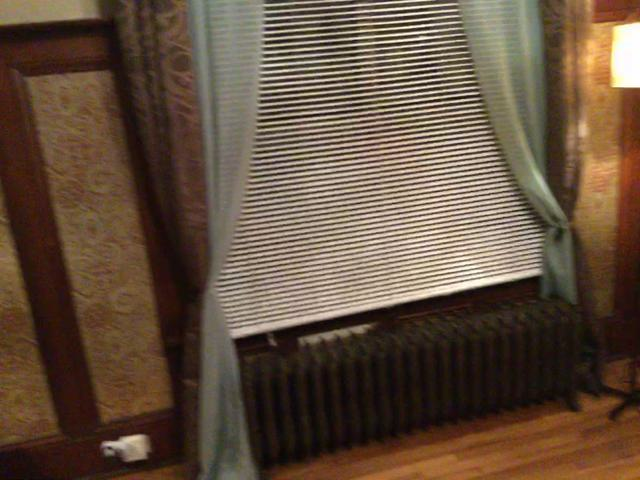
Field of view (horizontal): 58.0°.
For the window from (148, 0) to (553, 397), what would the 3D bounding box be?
[{"bbox_3d":[0.170,-0.370,2.150,1.350,1.660,0.180,-11,13,-11],"label":"window"}]
